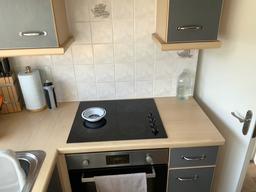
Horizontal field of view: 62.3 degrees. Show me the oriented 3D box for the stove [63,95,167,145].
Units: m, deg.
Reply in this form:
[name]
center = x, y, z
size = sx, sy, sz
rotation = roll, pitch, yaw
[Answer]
[stove]
center = -0.090, 0.130, 1.460
size = 0.590, 0.010, 0.570
rotation = -3, 26, -4
